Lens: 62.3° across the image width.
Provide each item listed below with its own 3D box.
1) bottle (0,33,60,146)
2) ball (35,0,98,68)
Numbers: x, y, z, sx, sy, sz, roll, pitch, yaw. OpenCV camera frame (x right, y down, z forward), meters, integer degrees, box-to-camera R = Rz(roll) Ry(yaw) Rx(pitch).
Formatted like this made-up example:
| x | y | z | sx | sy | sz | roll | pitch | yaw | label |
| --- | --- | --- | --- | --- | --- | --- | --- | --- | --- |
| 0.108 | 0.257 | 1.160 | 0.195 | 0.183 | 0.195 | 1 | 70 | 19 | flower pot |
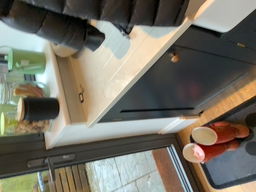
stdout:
| x | y | z | sx | sy | sz | roll | pitch | yaw | label |
| --- | --- | --- | --- | --- | --- | --- | --- | --- | --- |
| -0.540 | -0.030 | 1.090 | 0.310 | 0.200 | 0.450 | -46 | 55 | 41 | bottle |
| -0.310 | -0.330 | 1.020 | 0.250 | 0.170 | 0.280 | -45 | 56 | 41 | ball |
